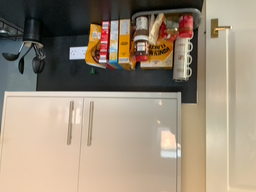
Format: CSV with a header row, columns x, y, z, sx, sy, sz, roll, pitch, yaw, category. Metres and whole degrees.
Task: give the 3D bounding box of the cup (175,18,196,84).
x,y,z,sx,sy,sz,roll,pitch,yaw,category
0.350,-0.260,1.270,0.110,0.350,0.160,0,176,18,cup
